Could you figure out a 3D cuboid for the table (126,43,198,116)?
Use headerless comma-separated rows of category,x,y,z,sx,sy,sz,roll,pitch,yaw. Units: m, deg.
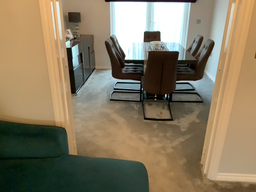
table,0.470,-0.400,3.680,0.910,0.730,1.720,2,24,1

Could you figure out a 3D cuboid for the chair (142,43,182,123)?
chair,0.420,-0.200,2.910,0.410,0.930,0.660,1,22,2

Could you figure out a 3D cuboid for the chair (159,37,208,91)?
chair,0.990,-0.600,3.950,0.710,0.900,0.460,1,22,0
